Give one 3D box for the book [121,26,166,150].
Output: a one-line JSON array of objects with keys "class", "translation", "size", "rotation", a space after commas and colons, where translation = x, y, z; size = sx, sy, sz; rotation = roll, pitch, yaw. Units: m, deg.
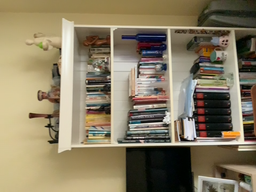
[{"class": "book", "translation": [0.110, -0.060, 1.760], "size": [0.280, 0.320, 0.960], "rotation": [111, 159, -79]}]
